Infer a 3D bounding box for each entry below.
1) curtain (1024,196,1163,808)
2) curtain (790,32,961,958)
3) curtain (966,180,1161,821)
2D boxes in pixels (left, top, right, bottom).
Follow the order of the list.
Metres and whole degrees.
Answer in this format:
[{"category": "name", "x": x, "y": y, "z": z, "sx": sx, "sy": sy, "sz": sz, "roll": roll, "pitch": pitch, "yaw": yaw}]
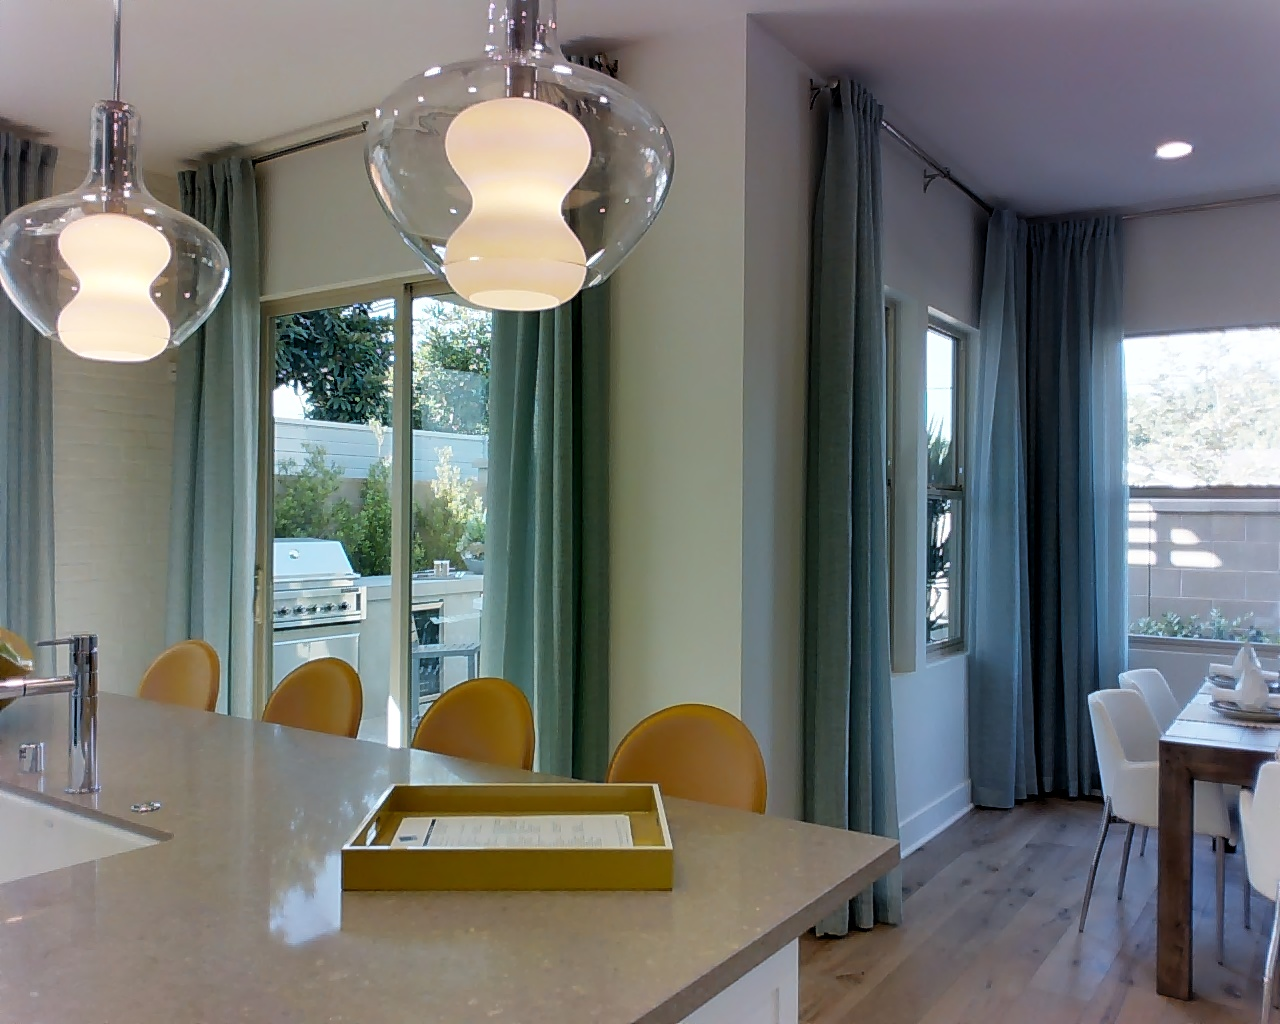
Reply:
[{"category": "curtain", "x": 2.349, "y": -0.050, "z": 5.560, "sx": 0.560, "sy": 3.021, "sz": 0.270, "roll": 1, "pitch": 1, "yaw": 34}, {"category": "curtain", "x": 0.860, "y": -0.050, "z": 3.860, "sx": 0.340, "sy": 3.031, "sz": 0.620, "roll": 1, "pitch": 1, "yaw": 34}, {"category": "curtain", "x": 2.139, "y": -0.050, "z": 5.430, "sx": 0.750, "sy": 3.021, "sz": 0.480, "roll": 0, "pitch": 1, "yaw": -25}]
